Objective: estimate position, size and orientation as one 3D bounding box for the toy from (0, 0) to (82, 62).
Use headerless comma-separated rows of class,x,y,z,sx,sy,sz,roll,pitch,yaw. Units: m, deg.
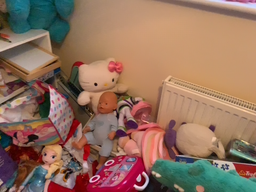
toy,-0.470,-0.600,1.000,0.340,0.750,0.290,23,41,24
